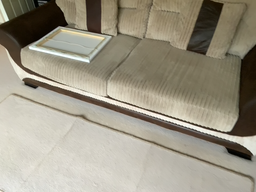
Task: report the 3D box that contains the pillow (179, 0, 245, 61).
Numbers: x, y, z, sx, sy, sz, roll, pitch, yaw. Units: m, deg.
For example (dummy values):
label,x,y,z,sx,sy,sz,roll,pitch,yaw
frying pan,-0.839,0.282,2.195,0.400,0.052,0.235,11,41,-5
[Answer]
label,x,y,z,sx,sy,sz,roll,pitch,yaw
pillow,0.580,-0.470,1.500,0.330,0.380,0.120,17,16,20

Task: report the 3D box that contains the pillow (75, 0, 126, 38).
label,x,y,z,sx,sy,sz,roll,pitch,yaw
pillow,-0.230,-0.710,1.750,0.370,0.370,0.140,17,25,18
